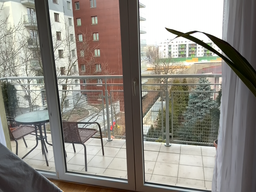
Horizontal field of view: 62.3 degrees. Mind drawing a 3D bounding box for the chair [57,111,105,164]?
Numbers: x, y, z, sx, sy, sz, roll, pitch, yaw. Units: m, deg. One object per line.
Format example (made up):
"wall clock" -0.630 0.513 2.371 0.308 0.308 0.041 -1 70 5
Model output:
"chair" -0.650 0.570 3.040 0.490 0.580 0.420 1 13 17
